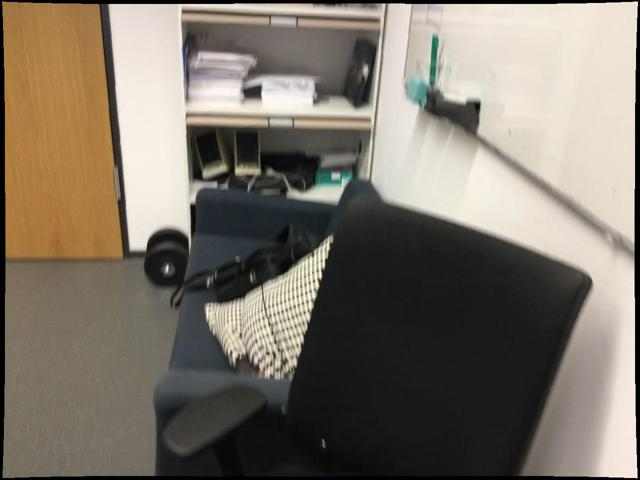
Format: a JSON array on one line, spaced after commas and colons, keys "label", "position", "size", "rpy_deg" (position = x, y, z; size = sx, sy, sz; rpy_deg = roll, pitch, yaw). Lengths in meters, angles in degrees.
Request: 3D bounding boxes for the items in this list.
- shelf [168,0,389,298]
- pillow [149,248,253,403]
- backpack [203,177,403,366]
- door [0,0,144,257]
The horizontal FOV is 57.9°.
[{"label": "shelf", "position": [-0.190, -0.781, 2.510], "size": [0.829, 2.082, 0.510], "rpy_deg": [0, 26, -7]}, {"label": "pillow", "position": [-0.350, 0.240, 1.810], "size": [0.270, 0.200, 0.540], "rpy_deg": [-1, 26, -7]}, {"label": "backpack", "position": [-0.080, 0.070, 1.850], "size": [0.529, 0.370, 0.550], "rpy_deg": [-1, 26, -7]}, {"label": "door", "position": [-1.399, -0.871, 2.550], "size": [1.009, 2.052, 0.170], "rpy_deg": [1, 27, -5]}]
